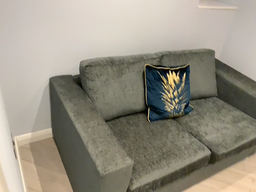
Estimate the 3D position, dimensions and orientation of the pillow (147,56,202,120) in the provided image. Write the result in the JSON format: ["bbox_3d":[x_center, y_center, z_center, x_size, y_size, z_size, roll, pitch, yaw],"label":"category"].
[{"bbox_3d":[0.380,-0.050,1.780,0.380,0.440,0.160,-30,59,-9],"label":"pillow"}]

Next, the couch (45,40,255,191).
[{"bbox_3d":[0.390,0.110,1.830,1.870,0.800,0.890,-11,38,-26],"label":"couch"}]
